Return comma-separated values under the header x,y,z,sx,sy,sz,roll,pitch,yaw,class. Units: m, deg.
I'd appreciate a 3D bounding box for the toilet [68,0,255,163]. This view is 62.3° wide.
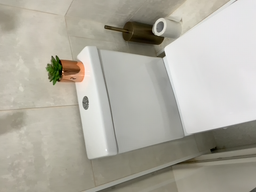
x,y,z,sx,sy,sz,roll,pitch,yaw,class
0.290,-0.060,0.790,0.600,0.780,0.390,-29,69,50,toilet
